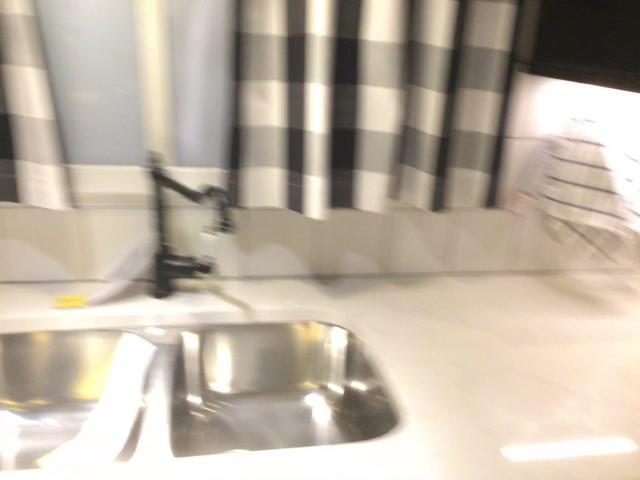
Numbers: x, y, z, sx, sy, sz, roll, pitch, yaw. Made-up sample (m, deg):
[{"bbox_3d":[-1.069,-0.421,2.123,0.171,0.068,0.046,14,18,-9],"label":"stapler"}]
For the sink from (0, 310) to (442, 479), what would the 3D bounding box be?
[{"bbox_3d":[-0.230,0.300,0.930,0.730,0.220,0.370,0,18,-10],"label":"sink"}]

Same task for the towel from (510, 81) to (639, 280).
[{"bbox_3d":[0.560,-0.120,1.170,0.240,0.370,0.150,0,18,-10],"label":"towel"}]

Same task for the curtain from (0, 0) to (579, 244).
[{"bbox_3d":[-0.270,-0.350,0.950,1.400,0.700,0.150,0,18,-10],"label":"curtain"}]
